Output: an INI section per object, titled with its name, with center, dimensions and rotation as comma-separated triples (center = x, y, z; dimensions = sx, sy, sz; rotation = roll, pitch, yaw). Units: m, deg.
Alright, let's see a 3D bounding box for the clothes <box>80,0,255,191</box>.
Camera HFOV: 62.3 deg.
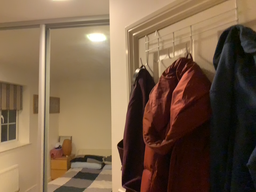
[clothes]
center = 0.150, 0.310, 0.720
dimensions = 0.230, 1.110, 0.890
rotation = 2, -5, -39
